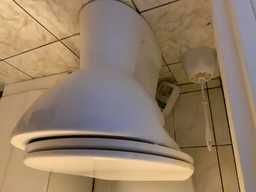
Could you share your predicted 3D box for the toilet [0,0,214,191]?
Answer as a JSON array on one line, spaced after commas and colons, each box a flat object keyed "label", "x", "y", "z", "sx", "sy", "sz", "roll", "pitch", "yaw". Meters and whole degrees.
[{"label": "toilet", "x": 0.010, "y": 0.160, "z": 0.630, "sx": 0.390, "sy": 0.780, "sz": 0.680, "roll": -9, "pitch": 154, "yaw": 22}]
